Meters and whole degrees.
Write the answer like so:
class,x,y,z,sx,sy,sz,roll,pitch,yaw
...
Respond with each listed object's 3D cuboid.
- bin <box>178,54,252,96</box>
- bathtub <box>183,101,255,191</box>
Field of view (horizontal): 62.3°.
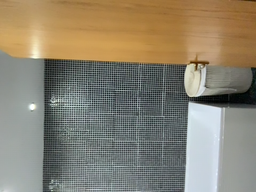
class,x,y,z,sx,sy,sz,roll,pitch,yaw
bin,0.950,-0.220,2.410,0.480,0.610,0.400,-159,71,-83
bathtub,0.990,0.920,2.330,0.720,0.510,1.670,-164,76,-84
